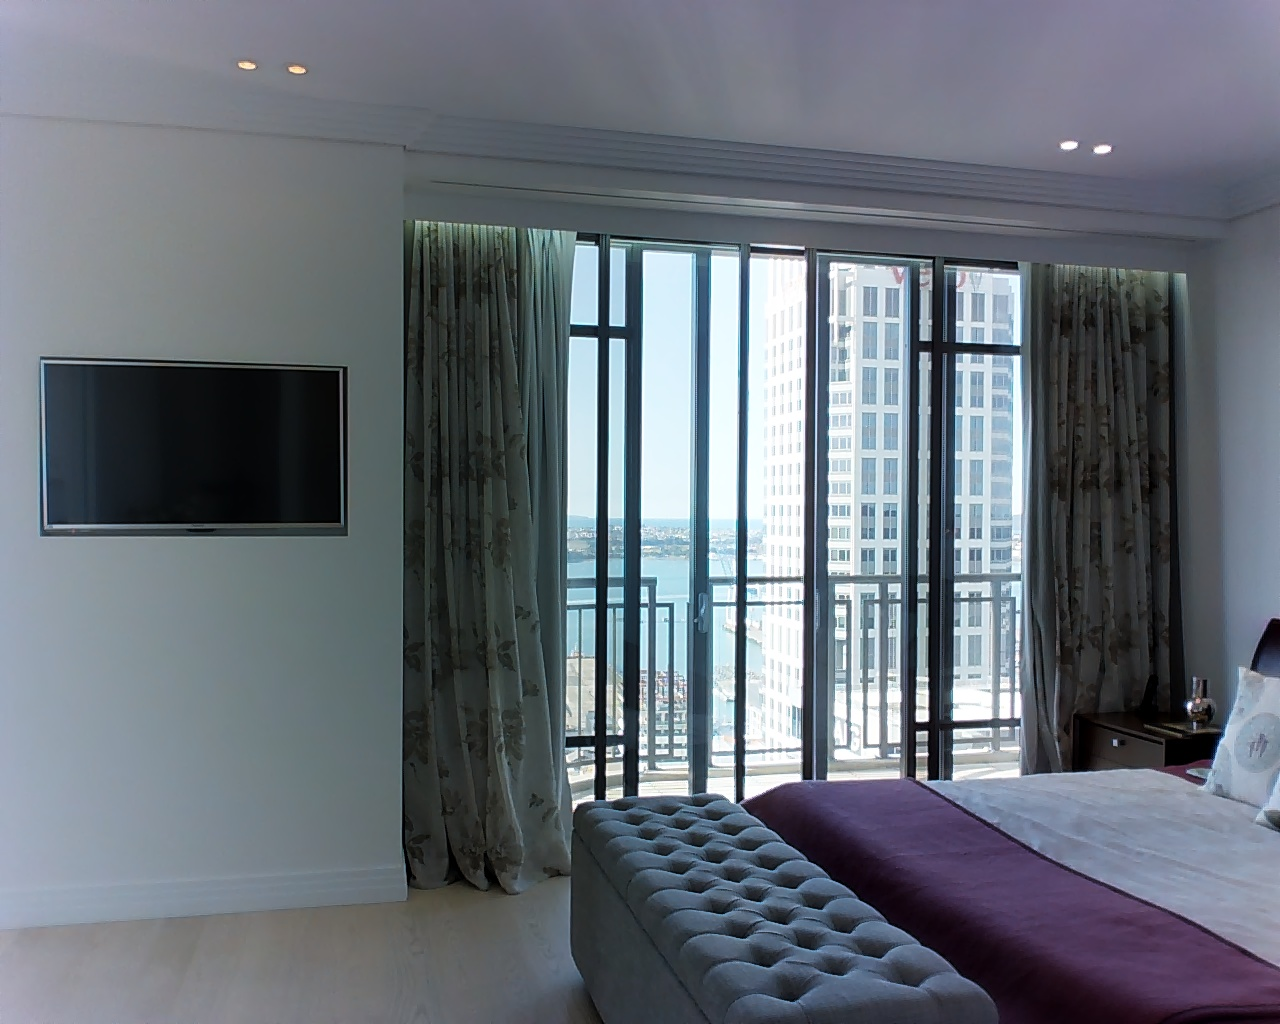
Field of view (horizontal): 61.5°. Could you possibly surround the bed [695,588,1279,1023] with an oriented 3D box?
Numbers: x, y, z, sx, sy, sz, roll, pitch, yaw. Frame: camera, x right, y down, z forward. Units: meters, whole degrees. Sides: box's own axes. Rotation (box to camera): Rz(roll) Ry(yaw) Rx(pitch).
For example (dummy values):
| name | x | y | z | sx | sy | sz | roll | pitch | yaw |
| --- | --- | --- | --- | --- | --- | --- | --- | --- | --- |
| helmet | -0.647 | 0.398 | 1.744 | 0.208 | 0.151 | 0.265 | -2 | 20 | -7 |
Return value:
| name | x | y | z | sx | sy | sz | roll | pitch | yaw |
| --- | --- | --- | --- | --- | --- | --- | --- | --- | --- |
| bed | 1.720 | 0.790 | 2.950 | 2.579 | 0.930 | 2.350 | 0 | 1 | -13 |
